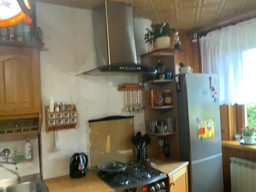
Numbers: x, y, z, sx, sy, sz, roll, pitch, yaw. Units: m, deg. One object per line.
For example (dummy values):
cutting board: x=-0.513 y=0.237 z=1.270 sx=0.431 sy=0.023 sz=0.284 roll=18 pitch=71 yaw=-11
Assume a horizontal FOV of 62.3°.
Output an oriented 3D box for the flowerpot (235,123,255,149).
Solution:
flowerpot: x=1.650 y=0.530 z=2.870 sx=0.230 sy=0.290 sz=0.270 roll=-3 pitch=1 yaw=-34

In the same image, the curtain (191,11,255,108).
curtain: x=1.710 y=-0.430 z=2.300 sx=0.200 sy=1.120 sz=2.340 roll=-3 pitch=0 yaw=-33

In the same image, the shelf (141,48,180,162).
shelf: x=0.400 y=0.100 z=2.660 sx=0.310 sy=1.320 sz=0.300 roll=-3 pitch=0 yaw=-32
